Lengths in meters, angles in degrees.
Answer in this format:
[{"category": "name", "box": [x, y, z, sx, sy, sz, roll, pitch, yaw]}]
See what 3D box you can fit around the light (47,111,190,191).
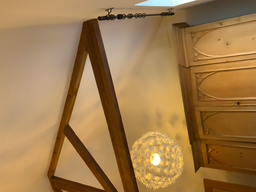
[{"category": "light", "box": [-0.140, 1.160, 3.910, 1.090, 2.080, 1.380, 47, -129, -45]}]
